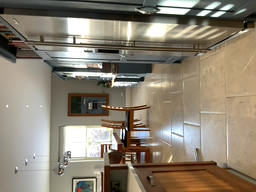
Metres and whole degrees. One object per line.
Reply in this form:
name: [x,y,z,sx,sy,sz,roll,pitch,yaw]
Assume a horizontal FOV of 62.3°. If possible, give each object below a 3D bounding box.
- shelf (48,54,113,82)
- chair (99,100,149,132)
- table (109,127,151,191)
shelf: [-1.360,-0.790,6.600,2.550,1.590,0.400,168,103,-82]
chair: [-0.120,0.460,5.060,0.520,1.130,0.680,-149,61,-81]
table: [-0.050,1.550,5.590,2.070,0.790,1.230,164,107,-82]
